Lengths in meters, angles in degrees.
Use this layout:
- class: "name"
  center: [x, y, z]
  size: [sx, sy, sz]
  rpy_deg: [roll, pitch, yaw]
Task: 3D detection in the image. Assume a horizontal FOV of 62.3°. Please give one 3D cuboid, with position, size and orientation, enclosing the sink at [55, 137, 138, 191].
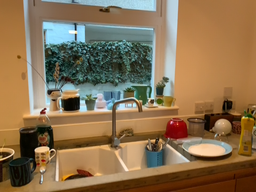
- class: "sink"
  center: [-0.210, 0.460, 1.250]
  size: [0.400, 0.260, 0.460]
  rpy_deg: [-2, 10, -18]

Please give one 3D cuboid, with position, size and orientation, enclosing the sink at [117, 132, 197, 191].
- class: "sink"
  center: [0.150, 0.440, 1.360]
  size: [0.340, 0.260, 0.460]
  rpy_deg: [-2, 10, -18]
